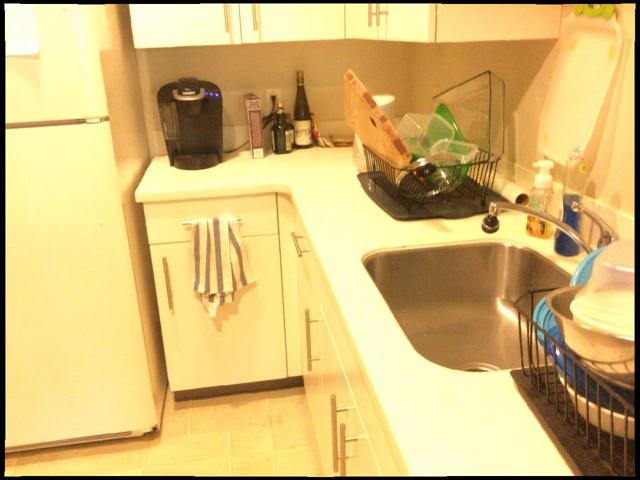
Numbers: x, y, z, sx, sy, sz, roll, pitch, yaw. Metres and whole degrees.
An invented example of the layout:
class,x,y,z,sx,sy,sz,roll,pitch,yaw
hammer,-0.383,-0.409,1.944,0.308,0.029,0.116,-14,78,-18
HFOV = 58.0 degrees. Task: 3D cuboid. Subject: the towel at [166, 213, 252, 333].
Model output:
class,x,y,z,sx,sy,sz,roll,pitch,yaw
towel,-0.389,0.120,2.060,0.259,0.411,0.080,-4,21,-8
